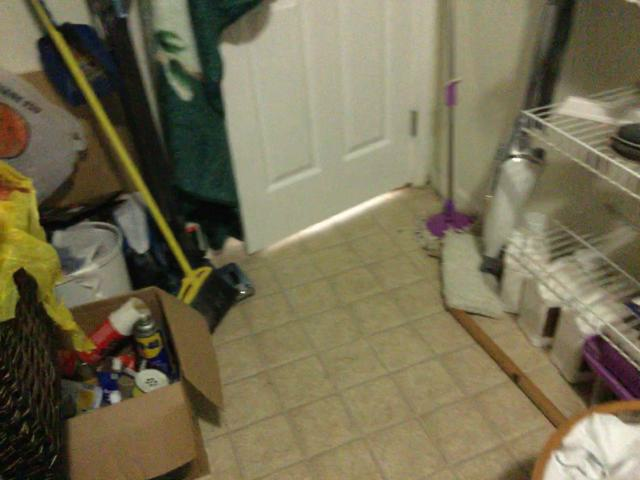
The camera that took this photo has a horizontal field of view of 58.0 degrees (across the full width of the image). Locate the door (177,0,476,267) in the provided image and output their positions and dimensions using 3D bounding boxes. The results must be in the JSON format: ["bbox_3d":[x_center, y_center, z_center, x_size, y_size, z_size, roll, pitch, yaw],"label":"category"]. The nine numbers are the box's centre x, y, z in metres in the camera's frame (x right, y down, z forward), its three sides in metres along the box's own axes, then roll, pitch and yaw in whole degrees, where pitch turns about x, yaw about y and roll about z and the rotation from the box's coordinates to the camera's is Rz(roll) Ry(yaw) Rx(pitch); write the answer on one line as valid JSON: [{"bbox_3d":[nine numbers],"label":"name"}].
[{"bbox_3d":[0.020,-0.940,1.550,0.880,2.150,0.180,-16,37,-15],"label":"door"}]

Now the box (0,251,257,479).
[{"bbox_3d":[-0.480,0.380,1.320,0.530,0.380,0.490,-16,37,-15],"label":"box"}]

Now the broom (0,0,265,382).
[{"bbox_3d":[-0.500,-0.280,1.540,0.420,1.180,0.550,-16,37,-15],"label":"broom"}]
